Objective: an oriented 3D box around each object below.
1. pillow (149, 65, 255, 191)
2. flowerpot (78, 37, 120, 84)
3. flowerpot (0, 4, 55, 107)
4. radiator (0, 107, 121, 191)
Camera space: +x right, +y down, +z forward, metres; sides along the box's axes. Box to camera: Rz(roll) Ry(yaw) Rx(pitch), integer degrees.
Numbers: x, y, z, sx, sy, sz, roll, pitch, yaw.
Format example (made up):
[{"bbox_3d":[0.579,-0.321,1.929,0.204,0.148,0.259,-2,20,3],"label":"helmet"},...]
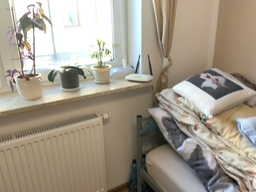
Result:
[{"bbox_3d":[0.720,0.150,1.310,0.780,0.450,0.910,-12,22,-28],"label":"pillow"},{"bbox_3d":[-0.200,-0.260,1.480,0.210,0.280,0.190,-12,22,-29],"label":"flowerpot"},{"bbox_3d":[-0.570,-0.230,1.180,0.230,0.490,0.260,-8,21,-30],"label":"flowerpot"},{"bbox_3d":[-0.560,0.540,1.300,1.070,0.710,0.190,-12,22,-29],"label":"radiator"}]
